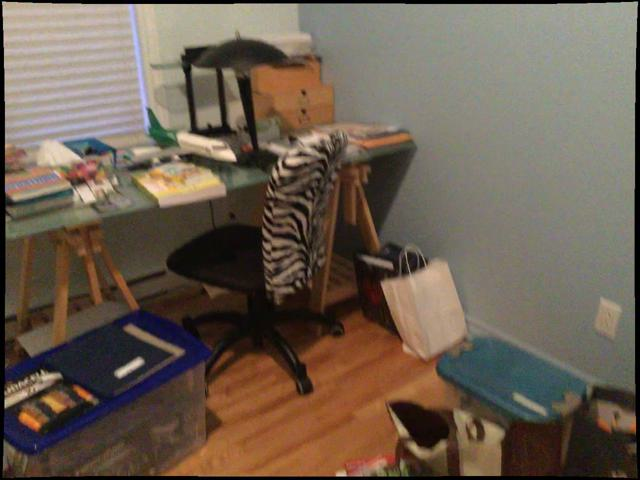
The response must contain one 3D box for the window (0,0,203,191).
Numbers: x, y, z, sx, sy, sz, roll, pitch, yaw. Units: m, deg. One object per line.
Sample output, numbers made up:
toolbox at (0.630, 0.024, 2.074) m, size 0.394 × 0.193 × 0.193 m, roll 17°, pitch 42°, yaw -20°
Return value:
window at (-1.169, -0.941, 1.950) m, size 1.389 × 1.531 × 0.190 m, roll -19°, pitch 29°, yaw -31°
